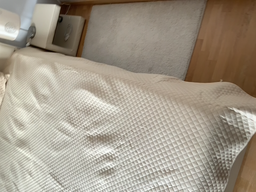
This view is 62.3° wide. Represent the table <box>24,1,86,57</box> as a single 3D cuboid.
[{"bbox_3d":[-0.750,-0.680,2.160,0.460,0.330,0.420,19,96,39],"label":"table"}]
